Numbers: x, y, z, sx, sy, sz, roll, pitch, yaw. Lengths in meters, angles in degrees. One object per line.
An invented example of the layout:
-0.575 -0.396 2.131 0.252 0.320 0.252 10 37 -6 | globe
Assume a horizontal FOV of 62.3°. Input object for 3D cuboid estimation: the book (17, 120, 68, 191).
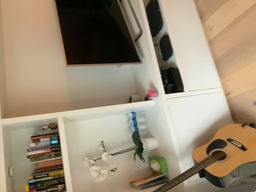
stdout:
-0.610 0.530 1.540 0.240 0.270 0.640 137 124 -64 | book
